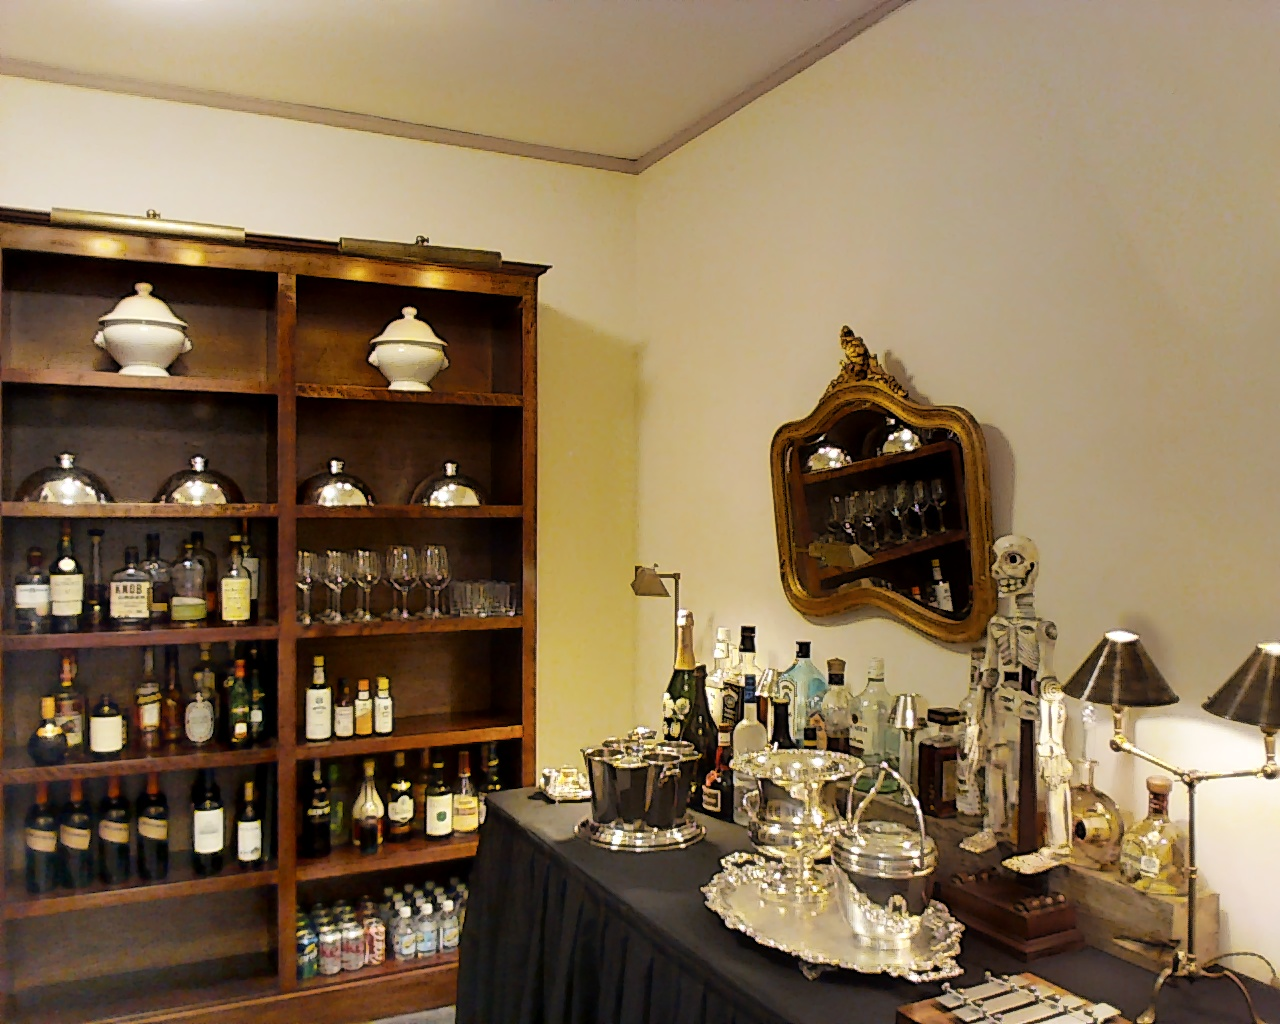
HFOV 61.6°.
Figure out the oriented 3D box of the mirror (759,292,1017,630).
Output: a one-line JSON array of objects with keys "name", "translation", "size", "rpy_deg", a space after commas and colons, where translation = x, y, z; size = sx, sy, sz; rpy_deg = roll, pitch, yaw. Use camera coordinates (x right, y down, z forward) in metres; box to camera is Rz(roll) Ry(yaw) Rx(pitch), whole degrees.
[{"name": "mirror", "translation": [0.570, -0.110, 2.650], "size": [0.120, 0.710, 0.830], "rpy_deg": [0, 0, -26]}]
